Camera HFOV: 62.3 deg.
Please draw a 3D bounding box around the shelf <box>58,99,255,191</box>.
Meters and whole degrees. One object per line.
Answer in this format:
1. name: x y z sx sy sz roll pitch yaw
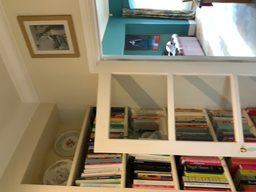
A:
1. shelf: 0.690 0.440 1.520 0.910 2.170 0.210 -87 -2 -48
